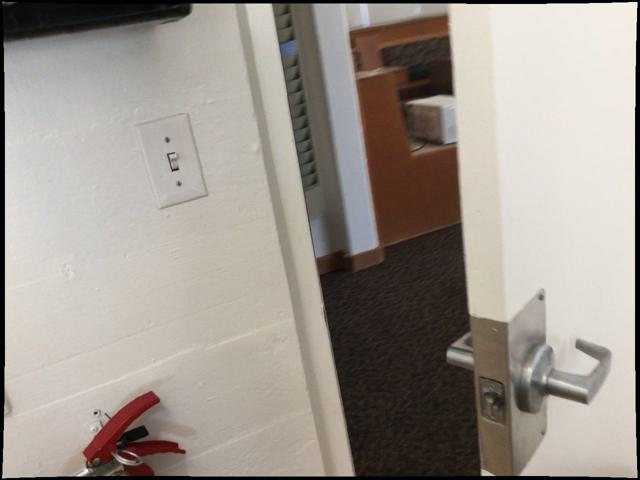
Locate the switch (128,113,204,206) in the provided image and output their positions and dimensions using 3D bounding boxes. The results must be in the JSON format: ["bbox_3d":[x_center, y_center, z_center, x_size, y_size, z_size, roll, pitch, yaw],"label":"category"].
[{"bbox_3d":[-0.209,-0.110,0.790,0.070,0.110,0.020,-21,23,-21],"label":"switch"}]
